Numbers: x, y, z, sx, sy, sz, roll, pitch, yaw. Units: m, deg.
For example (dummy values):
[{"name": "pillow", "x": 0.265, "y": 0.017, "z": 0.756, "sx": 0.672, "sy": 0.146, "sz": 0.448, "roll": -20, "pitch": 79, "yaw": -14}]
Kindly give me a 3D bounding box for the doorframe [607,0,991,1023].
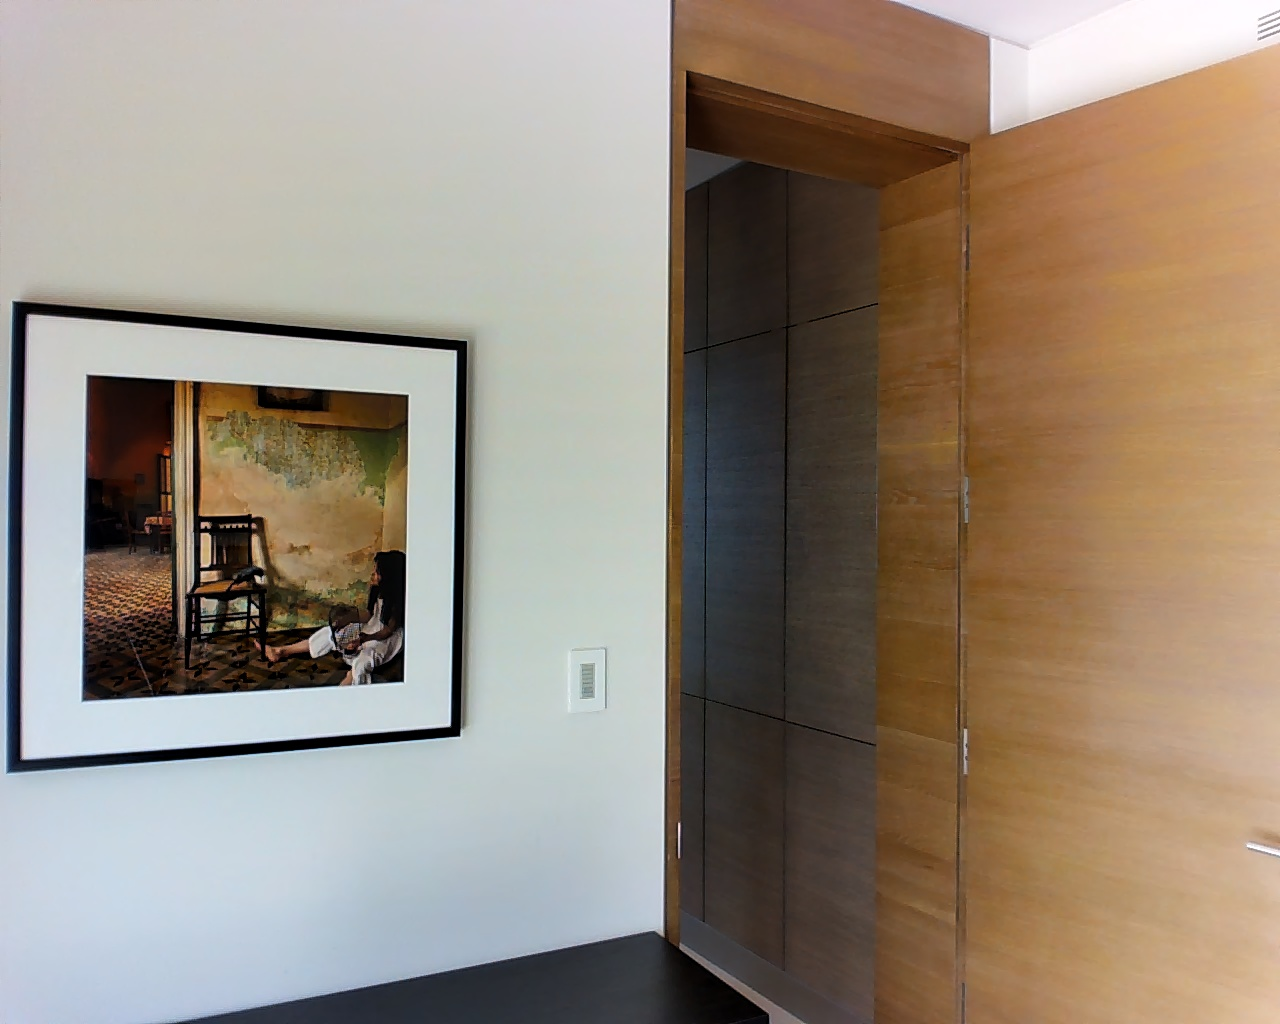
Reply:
[{"name": "doorframe", "x": 0.390, "y": 0.210, "z": 2.570, "sx": 0.850, "sy": 2.680, "sz": 0.380, "roll": 1, "pitch": -1, "yaw": -30}]
